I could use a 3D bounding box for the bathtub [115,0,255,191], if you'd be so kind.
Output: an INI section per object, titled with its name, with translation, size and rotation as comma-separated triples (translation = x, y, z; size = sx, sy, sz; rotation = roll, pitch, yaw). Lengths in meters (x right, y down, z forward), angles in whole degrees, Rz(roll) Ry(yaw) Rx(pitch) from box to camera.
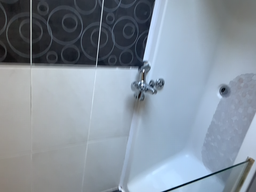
[bathtub]
translation = 0.500, 0.030, 1.120
size = 0.740, 0.610, 1.660
rotation = 39, 125, 50
